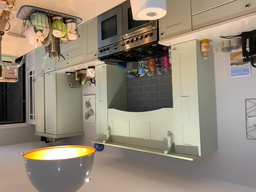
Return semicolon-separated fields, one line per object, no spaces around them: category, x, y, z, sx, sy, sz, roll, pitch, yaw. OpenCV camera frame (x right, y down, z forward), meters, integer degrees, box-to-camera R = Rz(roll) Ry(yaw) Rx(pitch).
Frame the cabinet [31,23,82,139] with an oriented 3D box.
cabinet;-1.590;-0.270;4.640;0.610;2.230;1.040;0;177;-45
